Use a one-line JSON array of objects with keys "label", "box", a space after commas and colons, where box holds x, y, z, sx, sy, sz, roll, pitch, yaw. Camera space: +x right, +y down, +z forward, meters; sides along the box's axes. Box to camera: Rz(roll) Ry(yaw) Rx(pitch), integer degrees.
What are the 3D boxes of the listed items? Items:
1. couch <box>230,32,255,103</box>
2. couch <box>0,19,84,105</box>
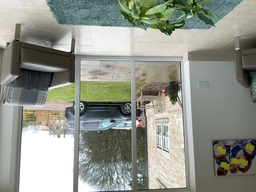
[{"label": "couch", "box": [1.820, -0.340, 2.760, 0.710, 0.780, 0.810, -5, 172, 35]}, {"label": "couch", "box": [-1.140, -0.330, 2.710, 0.800, 0.800, 0.800, 6, 170, -43]}]
